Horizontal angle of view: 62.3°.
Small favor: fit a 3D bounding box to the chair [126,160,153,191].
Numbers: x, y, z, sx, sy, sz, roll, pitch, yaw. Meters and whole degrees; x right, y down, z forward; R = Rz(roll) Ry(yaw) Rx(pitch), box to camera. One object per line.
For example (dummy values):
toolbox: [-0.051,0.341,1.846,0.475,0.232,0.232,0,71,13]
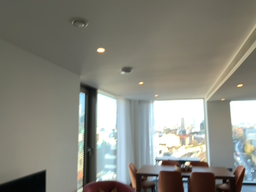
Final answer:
chair: [0.250,1.810,4.420,0.500,0.830,0.490,-2,-8,11]
